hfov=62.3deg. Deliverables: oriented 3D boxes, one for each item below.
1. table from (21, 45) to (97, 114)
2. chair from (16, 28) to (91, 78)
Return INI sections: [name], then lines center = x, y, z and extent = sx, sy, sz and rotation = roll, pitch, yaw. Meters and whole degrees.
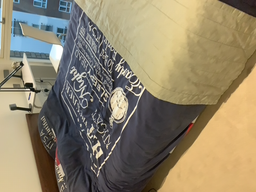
[table]
center = -0.990, -0.240, 2.930
extent = 0.840, 0.750, 0.490
rotation = 53, 132, 40
[chair]
center = -1.020, -0.560, 2.890
extent = 0.420, 0.830, 0.450
rotation = 55, 133, 38
